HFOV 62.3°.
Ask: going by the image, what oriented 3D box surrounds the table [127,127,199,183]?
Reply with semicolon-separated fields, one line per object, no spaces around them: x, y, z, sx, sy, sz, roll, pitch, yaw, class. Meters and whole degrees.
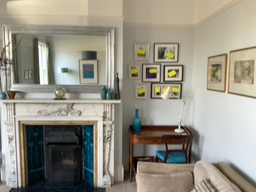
0.530;0.940;3.500;1.080;0.750;0.520;1;6;-2;table
